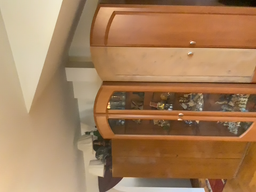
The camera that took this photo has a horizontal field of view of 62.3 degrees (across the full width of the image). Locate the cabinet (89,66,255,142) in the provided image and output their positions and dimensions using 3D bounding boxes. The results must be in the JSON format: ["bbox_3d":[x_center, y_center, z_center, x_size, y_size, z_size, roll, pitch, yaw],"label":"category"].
[{"bbox_3d":[0.600,0.100,2.450,0.440,1.980,0.720,-92,3,-58],"label":"cabinet"}]
